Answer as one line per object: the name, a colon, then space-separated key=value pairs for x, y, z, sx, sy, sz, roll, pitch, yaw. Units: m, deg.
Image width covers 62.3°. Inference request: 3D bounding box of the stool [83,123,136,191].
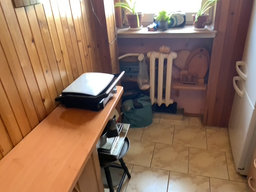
stool: x=-0.110 y=0.480 z=1.570 sx=0.260 sy=0.420 sz=0.330 roll=5 pitch=31 yaw=14
